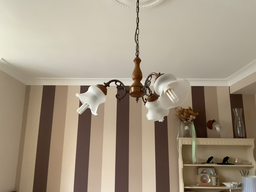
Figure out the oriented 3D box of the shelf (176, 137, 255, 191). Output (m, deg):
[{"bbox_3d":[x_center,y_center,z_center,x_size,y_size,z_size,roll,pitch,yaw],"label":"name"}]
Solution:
[{"bbox_3d":[1.110,0.970,2.680,0.920,0.870,0.170,0,-13,1],"label":"shelf"}]
